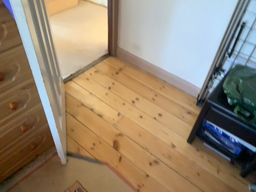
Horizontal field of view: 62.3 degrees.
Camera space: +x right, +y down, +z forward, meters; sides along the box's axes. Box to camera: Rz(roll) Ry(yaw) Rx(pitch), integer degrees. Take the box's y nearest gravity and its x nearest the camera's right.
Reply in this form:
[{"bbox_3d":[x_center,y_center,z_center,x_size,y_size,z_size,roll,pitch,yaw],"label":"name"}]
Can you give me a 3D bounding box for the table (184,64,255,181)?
[{"bbox_3d":[0.790,0.170,1.530,0.460,0.480,0.510,33,52,24],"label":"table"}]
